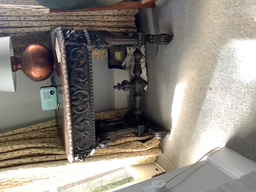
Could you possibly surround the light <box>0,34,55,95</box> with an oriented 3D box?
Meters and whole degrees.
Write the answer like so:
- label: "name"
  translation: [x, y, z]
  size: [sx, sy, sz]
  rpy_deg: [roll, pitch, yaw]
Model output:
- label: "light"
  translation: [-0.700, -0.200, 1.280]
  size: [0.220, 0.430, 0.330]
  rpy_deg: [28, 121, 59]
